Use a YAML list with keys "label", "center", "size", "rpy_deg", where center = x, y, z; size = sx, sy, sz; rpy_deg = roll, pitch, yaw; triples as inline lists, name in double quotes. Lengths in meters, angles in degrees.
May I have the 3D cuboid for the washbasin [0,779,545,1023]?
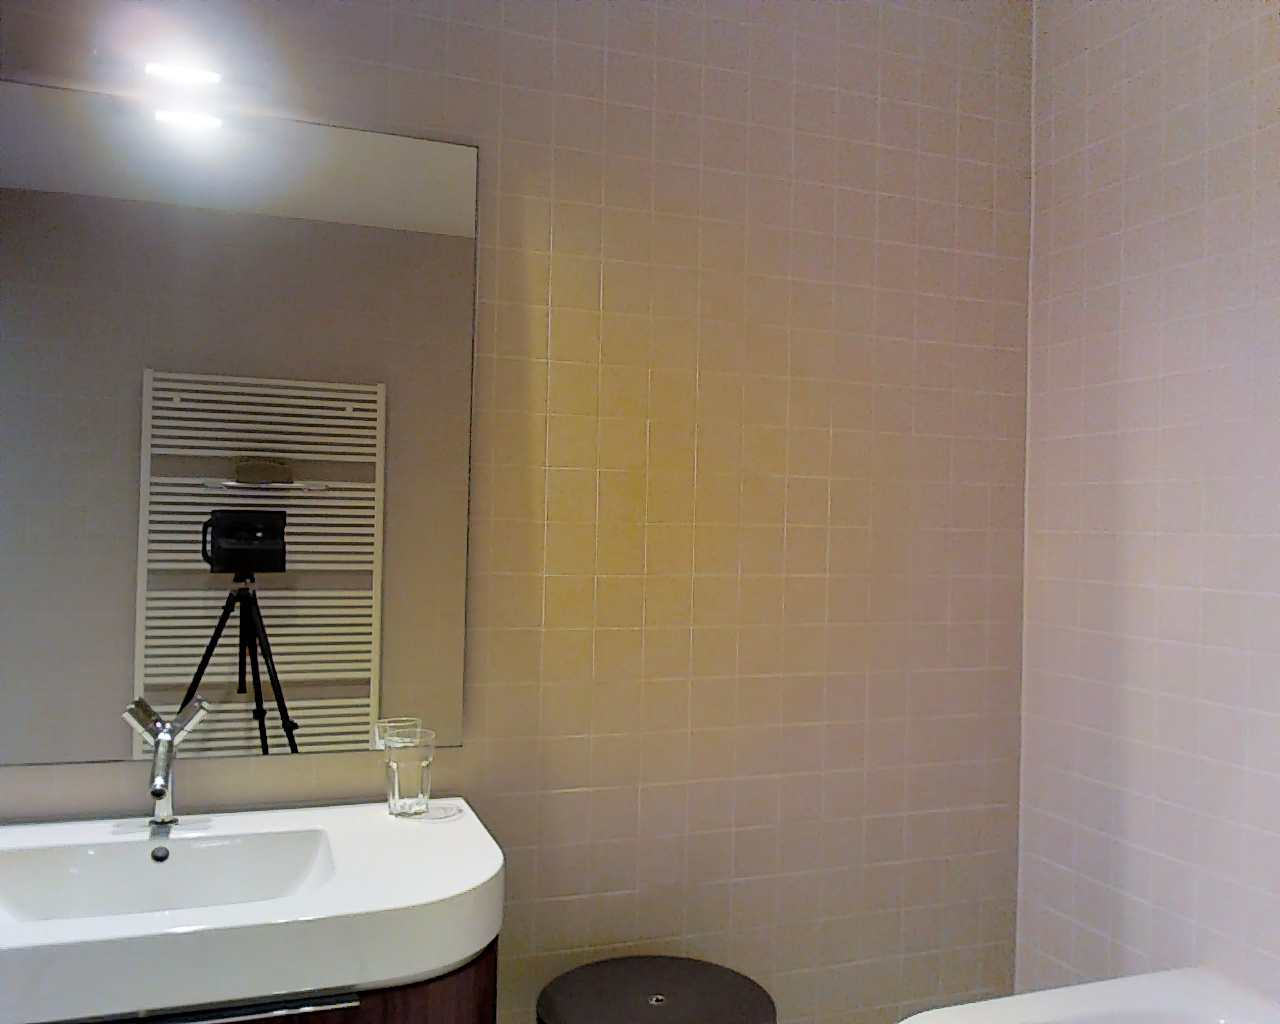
- label: "washbasin"
  center: [-0.710, 0.740, 1.570]
  size: [1.020, 0.520, 0.540]
  rpy_deg: [2, -1, -20]
